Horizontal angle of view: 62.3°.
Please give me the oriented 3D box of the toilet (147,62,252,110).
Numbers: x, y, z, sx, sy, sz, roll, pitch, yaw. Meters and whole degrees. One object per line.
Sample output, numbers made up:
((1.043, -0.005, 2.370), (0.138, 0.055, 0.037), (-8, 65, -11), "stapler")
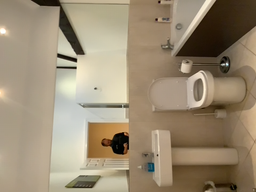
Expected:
((0.680, -0.070, 2.260), (0.650, 0.870, 0.380), (106, 164, -80), "toilet")
